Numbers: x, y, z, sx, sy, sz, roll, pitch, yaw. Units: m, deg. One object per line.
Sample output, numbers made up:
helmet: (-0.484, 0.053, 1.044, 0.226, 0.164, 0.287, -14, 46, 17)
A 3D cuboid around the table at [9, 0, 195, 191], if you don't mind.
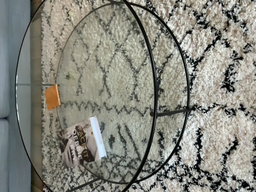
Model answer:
table: (-0.230, 0.000, 1.110, 1.020, 0.320, 1.010, 4, 94, 38)
